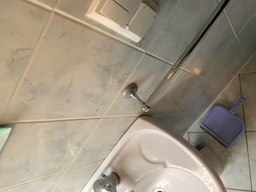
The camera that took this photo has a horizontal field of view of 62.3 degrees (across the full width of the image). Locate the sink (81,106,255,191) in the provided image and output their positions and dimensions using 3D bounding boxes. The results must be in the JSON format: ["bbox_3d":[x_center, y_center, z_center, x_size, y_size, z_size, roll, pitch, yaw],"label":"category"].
[{"bbox_3d":[0.100,0.410,0.790,0.450,0.220,0.590,45,110,27],"label":"sink"}]
